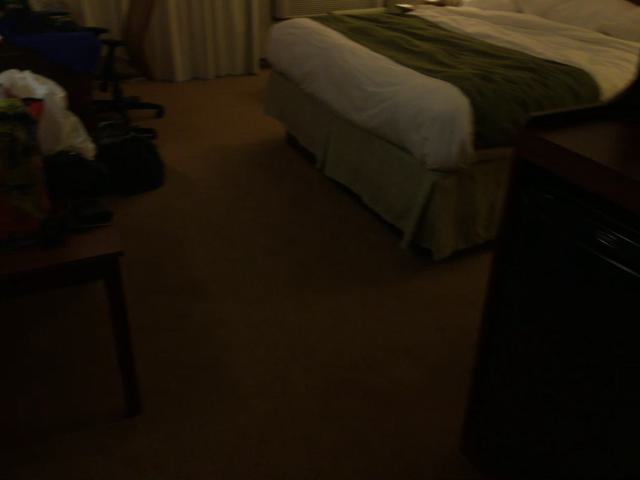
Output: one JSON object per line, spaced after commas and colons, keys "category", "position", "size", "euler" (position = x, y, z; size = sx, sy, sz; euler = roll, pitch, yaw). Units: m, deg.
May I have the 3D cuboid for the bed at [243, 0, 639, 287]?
{"category": "bed", "position": [0.870, -0.980, 3.250], "size": [2.000, 1.080, 2.080], "euler": [-13, 34, -22]}

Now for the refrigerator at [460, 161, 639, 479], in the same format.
{"category": "refrigerator", "position": [0.570, 0.330, 1.280], "size": [0.150, 0.870, 0.490], "euler": [-11, 34, -19]}
